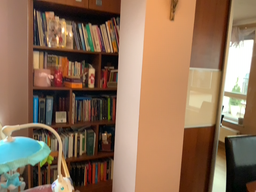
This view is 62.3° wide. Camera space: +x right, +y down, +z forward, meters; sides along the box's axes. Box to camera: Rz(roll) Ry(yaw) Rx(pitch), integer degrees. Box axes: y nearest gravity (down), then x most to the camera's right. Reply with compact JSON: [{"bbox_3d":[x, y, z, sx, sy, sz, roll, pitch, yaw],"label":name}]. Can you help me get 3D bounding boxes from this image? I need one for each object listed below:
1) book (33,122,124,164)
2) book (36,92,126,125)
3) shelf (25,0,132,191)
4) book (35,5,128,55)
[{"bbox_3d":[-0.510,0.450,2.170,0.830,0.220,0.390,0,9,-25],"label":"book"},{"bbox_3d":[-0.470,0.100,2.130,0.810,0.230,0.360,-1,10,-26],"label":"book"},{"bbox_3d":[-0.500,0.060,2.080,0.900,1.670,0.390,0,9,-25],"label":"shelf"},{"bbox_3d":[-0.440,-0.580,2.000,0.790,0.320,0.360,-1,9,-26],"label":"book"}]
